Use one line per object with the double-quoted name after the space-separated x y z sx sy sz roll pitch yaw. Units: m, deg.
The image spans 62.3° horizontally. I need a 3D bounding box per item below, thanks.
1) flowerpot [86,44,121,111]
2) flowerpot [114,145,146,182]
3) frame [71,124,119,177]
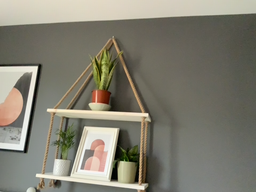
-0.170 -0.130 1.560 0.160 0.450 0.180 1 -13 15 "flowerpot"
0.020 0.440 1.410 0.180 0.210 0.150 3 -13 9 "flowerpot"
-0.220 0.370 1.470 0.260 0.320 0.140 2 -13 12 "frame"
